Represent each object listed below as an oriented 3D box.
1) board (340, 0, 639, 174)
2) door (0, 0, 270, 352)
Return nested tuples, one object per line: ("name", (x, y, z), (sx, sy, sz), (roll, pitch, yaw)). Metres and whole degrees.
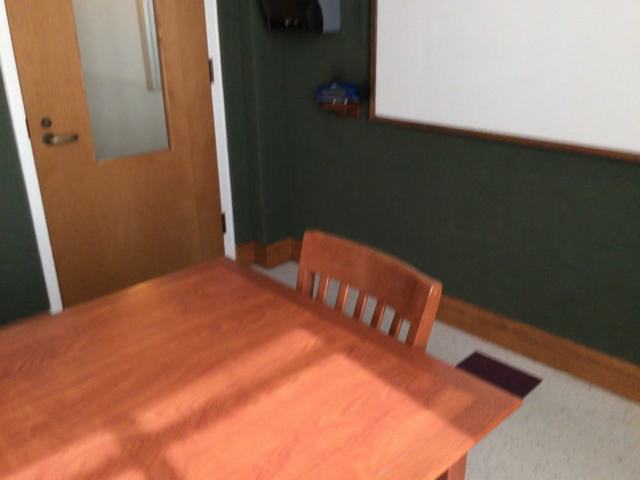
("board", (0.800, -0.880, 1.880), (0.080, 1.220, 1.950), (-19, 28, -40))
("door", (-0.790, -0.650, 2.600), (1.150, 2.050, 0.270), (-19, 28, -40))
